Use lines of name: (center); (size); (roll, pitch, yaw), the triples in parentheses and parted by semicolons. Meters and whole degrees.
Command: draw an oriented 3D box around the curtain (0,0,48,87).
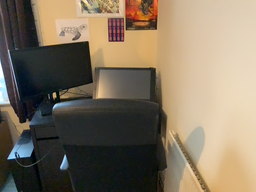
curtain: (-0.950, -0.790, 1.700); (0.350, 1.450, 0.170); (-3, 23, -7)
